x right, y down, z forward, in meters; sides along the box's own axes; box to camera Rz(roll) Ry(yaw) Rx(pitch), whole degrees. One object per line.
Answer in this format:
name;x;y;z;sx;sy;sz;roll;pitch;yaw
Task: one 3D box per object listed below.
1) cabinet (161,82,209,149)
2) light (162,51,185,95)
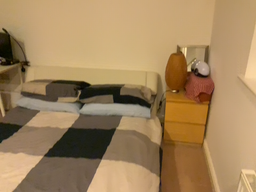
cabinet;0.600;0.190;2.370;0.410;0.550;0.510;4;23;9
light;0.470;-0.240;2.190;0.190;0.390;0.250;4;23;11
